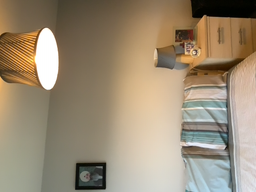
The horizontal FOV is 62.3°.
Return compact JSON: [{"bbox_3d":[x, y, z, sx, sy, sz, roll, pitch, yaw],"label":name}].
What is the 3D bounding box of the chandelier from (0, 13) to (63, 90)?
[{"bbox_3d":[-0.630,-0.230,1.190,0.300,0.420,0.340,107,-16,-83],"label":"chandelier"}]
